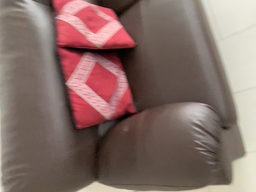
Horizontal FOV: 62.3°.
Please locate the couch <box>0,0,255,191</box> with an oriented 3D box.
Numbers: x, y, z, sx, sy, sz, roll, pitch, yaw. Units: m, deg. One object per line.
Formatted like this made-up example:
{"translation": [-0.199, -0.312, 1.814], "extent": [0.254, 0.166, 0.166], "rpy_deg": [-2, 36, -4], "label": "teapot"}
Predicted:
{"translation": [-0.090, -0.550, 1.200], "extent": [0.890, 0.920, 1.980], "rpy_deg": [-19, 75, 35], "label": "couch"}
